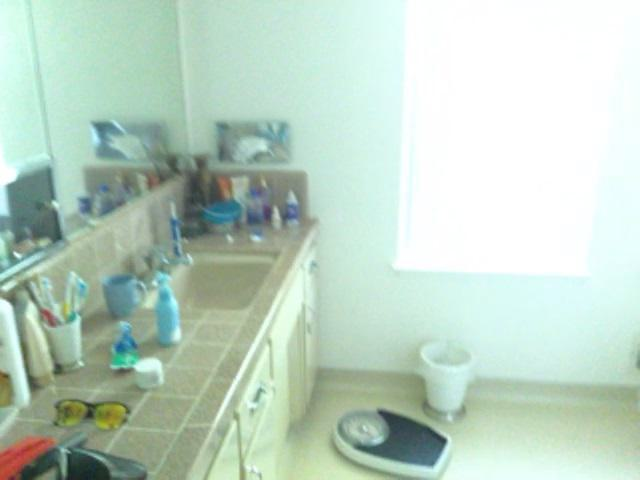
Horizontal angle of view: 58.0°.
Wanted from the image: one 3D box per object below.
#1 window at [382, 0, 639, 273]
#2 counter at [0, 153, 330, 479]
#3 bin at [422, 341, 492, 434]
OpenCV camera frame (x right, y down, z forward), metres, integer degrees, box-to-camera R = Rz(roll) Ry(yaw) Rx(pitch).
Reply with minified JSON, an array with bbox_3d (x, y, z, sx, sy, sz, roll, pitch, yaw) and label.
[{"bbox_3d":[0.640,-0.630,2.020,0.810,1.500,0.220,0,18,12],"label":"window"},{"bbox_3d":[-0.480,0.280,1.070,0.650,0.420,2.690,-1,18,9],"label":"counter"},{"bbox_3d":[0.530,0.570,2.260,0.250,0.250,0.240,0,18,12],"label":"bin"}]
